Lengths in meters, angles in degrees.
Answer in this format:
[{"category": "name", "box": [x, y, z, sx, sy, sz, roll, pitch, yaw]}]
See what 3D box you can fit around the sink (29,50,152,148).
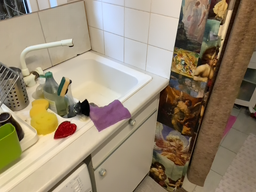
[{"category": "sink", "box": [-0.200, -0.030, 1.200, 0.510, 0.200, 0.420, 26, 44, 29]}]
